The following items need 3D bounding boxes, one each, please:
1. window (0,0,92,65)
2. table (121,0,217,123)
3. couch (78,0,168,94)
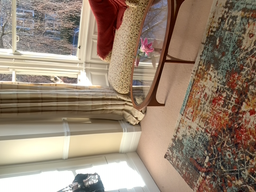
[{"bbox_3d":[-1.590,-1.150,2.890,0.260,2.100,1.290,-130,47,-54],"label":"window"},{"bbox_3d":[0.350,-0.460,2.340,0.700,0.390,1.320,-129,46,-53],"label":"table"},{"bbox_3d":[-0.120,-0.880,2.850,0.710,0.790,1.540,-128,45,-52],"label":"couch"}]
